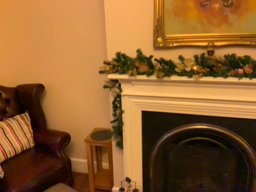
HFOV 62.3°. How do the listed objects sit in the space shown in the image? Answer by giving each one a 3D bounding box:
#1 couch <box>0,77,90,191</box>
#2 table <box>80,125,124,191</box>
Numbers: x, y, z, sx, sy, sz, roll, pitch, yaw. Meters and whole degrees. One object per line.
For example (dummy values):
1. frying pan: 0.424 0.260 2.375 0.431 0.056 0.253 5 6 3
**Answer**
1. couch: -1.050 0.480 1.930 0.960 1.080 0.890 9 19 33
2. table: -0.250 0.640 2.170 0.340 0.590 0.280 2 16 14
